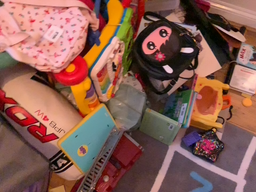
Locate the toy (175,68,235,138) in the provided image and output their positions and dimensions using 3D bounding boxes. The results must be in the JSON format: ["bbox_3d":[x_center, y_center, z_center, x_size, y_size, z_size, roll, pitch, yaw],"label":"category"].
[{"bbox_3d":[0.380,0.030,1.050,0.200,0.080,0.280,22,70,10],"label":"toy"}]
